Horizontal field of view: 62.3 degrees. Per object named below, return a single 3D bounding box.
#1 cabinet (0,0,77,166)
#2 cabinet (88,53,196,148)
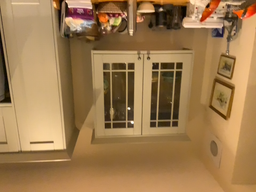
[{"bbox_3d":[-0.840,-0.590,2.000,0.470,2.430,0.630,-1,-163,-5],"label":"cabinet"},{"bbox_3d":[0.130,0.040,2.420,1.090,1.010,0.340,-1,-163,-5],"label":"cabinet"}]
